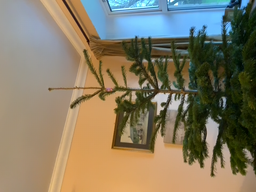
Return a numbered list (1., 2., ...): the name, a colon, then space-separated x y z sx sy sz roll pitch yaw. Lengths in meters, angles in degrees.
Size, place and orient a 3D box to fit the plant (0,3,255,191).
1. plant: 0.510 -0.080 1.590 1.260 2.220 1.000 -62 -29 -60
